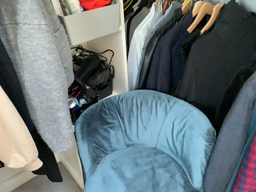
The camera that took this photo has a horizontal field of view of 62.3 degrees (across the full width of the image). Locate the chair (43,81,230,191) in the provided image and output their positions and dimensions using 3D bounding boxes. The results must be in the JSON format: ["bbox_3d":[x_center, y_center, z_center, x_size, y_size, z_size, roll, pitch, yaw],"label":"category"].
[{"bbox_3d":[0.060,0.360,1.020,0.550,0.660,0.520,3,36,8],"label":"chair"}]
